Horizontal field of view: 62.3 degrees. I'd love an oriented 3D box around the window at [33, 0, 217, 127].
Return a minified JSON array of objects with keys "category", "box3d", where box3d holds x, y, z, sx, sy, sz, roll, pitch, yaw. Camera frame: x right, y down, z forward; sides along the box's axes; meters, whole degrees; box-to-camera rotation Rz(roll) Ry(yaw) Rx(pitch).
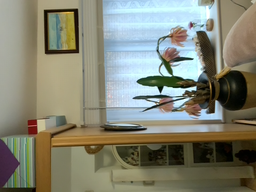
[{"category":"window","box3d":[-0.030,-0.550,1.880,0.150,1.530,1.590,126,142,-86]}]
